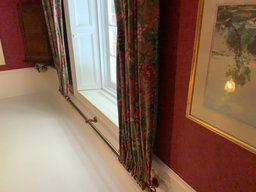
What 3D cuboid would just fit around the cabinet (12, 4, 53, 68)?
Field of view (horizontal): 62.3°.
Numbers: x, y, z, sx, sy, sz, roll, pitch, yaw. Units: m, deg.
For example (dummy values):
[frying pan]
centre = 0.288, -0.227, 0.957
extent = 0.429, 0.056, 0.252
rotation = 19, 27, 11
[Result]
[cabinet]
centre = -1.740, -1.110, 3.890
extent = 0.470, 1.050, 0.500
rotation = -13, -155, -29
